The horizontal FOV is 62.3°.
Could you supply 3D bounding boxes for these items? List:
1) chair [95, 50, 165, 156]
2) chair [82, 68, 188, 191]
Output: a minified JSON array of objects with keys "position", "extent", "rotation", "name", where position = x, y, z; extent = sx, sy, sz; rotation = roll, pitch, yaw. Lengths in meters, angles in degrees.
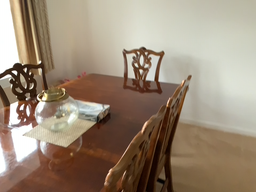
[{"position":[0.040,0.040,2.310],"extent":[0.540,0.970,0.500],"rotation":[9,23,24],"name":"chair"},{"position":[0.070,0.350,1.510],"extent":[0.520,0.970,0.470],"rotation":[10,23,25],"name":"chair"}]
